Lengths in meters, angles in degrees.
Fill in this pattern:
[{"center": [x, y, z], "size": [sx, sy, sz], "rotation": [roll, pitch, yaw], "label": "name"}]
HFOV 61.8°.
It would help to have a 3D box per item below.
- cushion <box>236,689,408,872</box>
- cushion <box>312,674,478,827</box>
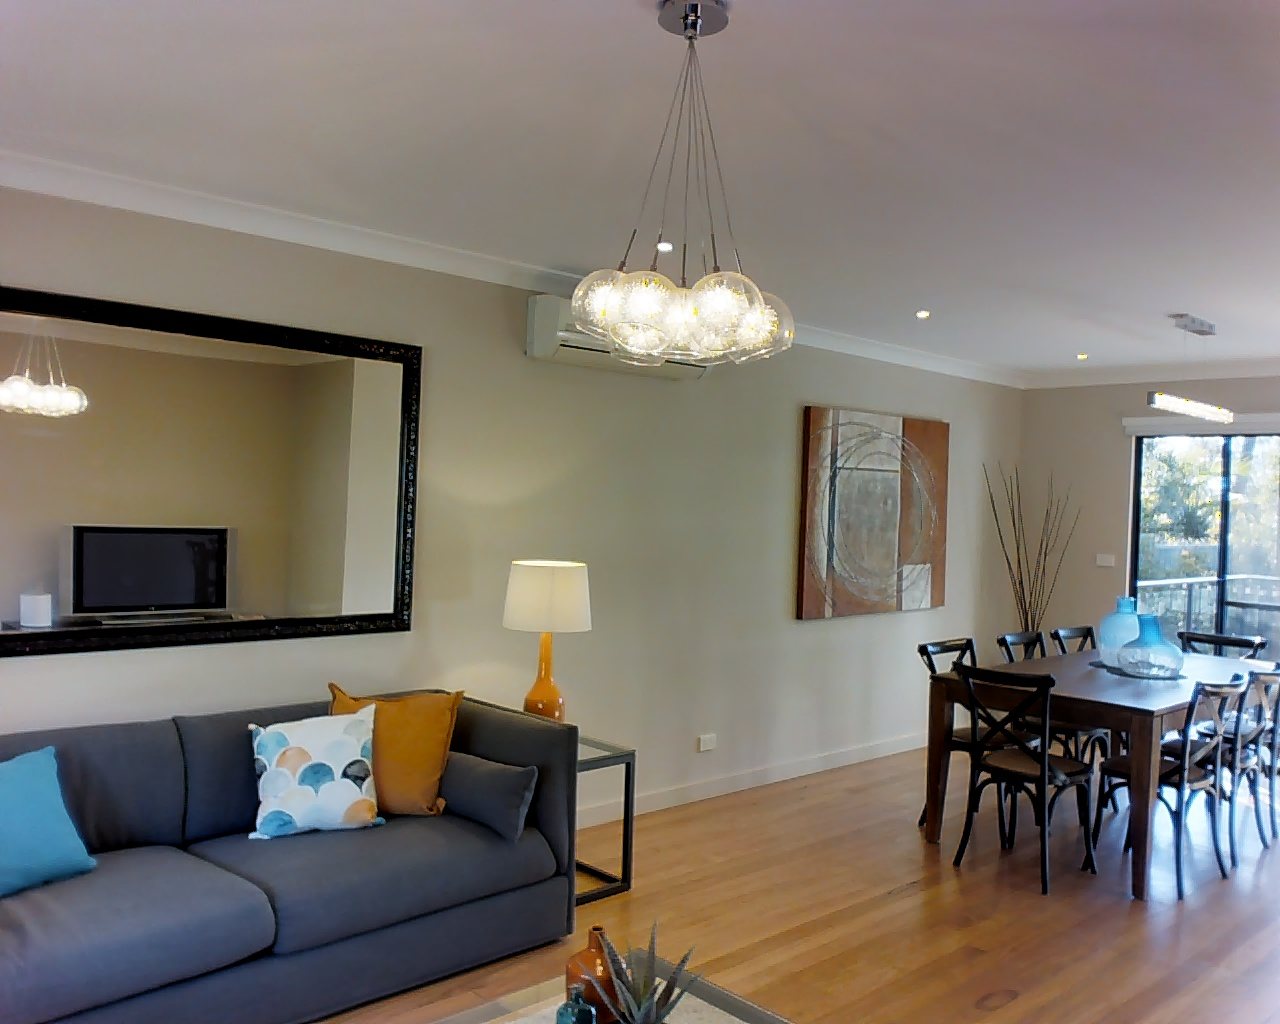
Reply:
[{"center": [-1.060, 0.890, 3.570], "size": [0.440, 0.410, 0.240], "rotation": [-16, 23, -14], "label": "cushion"}, {"center": [-0.850, 0.830, 3.760], "size": [0.480, 0.450, 0.290], "rotation": [-2, 5, 4], "label": "cushion"}]
